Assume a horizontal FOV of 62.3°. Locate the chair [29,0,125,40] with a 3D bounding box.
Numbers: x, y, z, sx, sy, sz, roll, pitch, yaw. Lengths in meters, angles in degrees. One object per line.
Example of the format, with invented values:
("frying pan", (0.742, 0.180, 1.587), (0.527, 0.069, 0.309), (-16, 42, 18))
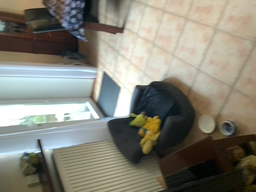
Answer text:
("chair", (-0.670, -1.140, 2.800), (0.430, 1.090, 0.530), (46, 128, 46))
